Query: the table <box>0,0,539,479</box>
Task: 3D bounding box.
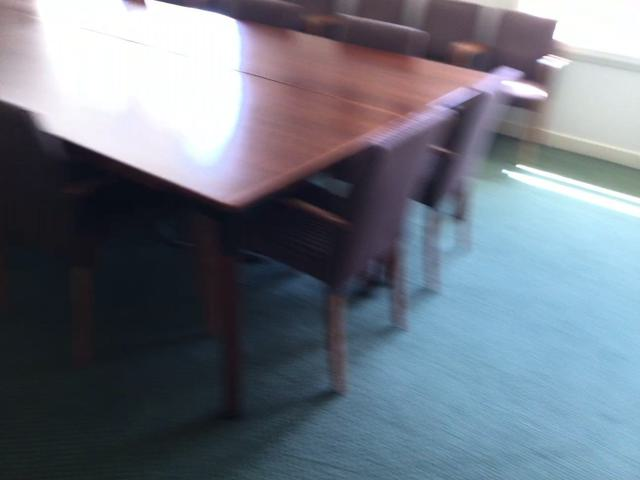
[{"bbox_3d":[-1.940,-1.000,3.150,5.470,0.830,2.130,23,35,27],"label":"table"}]
